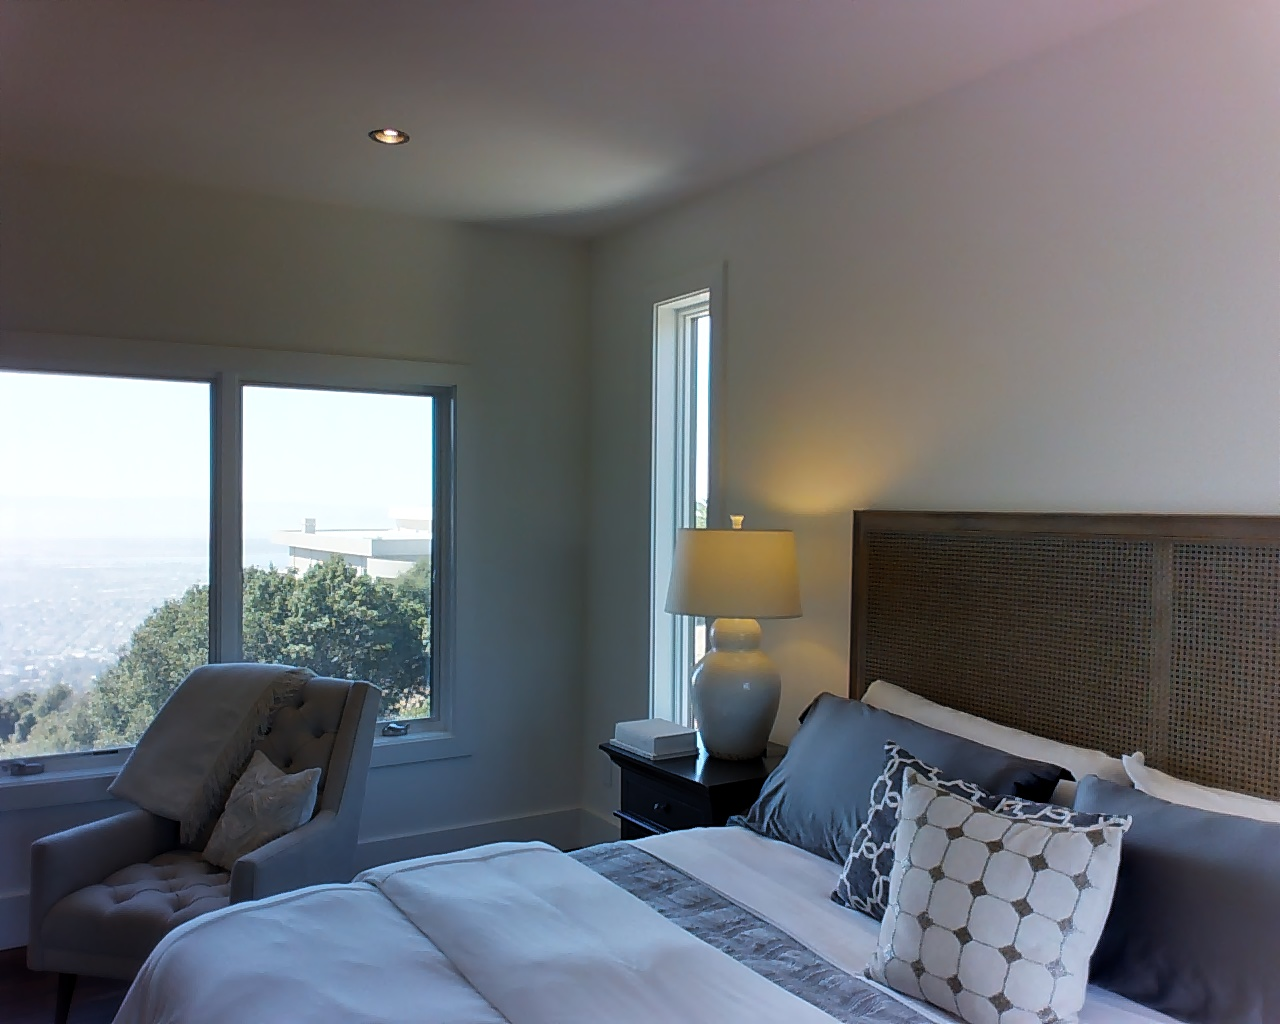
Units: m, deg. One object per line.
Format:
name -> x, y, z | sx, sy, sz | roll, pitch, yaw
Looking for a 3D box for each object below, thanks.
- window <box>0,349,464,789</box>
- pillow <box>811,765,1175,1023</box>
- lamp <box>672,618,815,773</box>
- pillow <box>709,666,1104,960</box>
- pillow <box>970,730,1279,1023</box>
window -> -1.560, 0.200, 4.160 | 1.790, 1.510, 0.160 | 0, 0, -31
pillow -> 0.620, 0.690, 1.920 | 0.460, 0.410, 0.210 | -16, 13, 47
lamp -> 0.320, 0.560, 3.370 | 0.300, 0.410, 0.340 | 0, 0, -30
pillow -> 0.600, 0.690, 2.650 | 0.210, 0.420, 0.950 | -42, 21, -19
pillow -> 1.080, 0.700, 1.830 | 0.250, 0.410, 0.970 | -29, 15, -27
